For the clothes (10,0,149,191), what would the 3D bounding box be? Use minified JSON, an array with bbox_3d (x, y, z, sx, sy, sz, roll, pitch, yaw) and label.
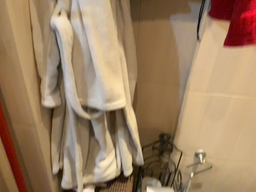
[{"bbox_3d":[-0.130,0.080,0.780,0.290,0.960,0.250,2,34,-3],"label":"clothes"}]
